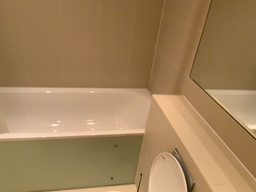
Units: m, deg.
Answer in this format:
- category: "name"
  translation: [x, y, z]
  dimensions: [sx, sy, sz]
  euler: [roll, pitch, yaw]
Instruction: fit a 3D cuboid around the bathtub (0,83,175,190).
- category: "bathtub"
  translation: [-0.560, 0.320, 1.890]
  dimensions: [1.690, 0.580, 0.690]
  euler: [2, 29, -11]
